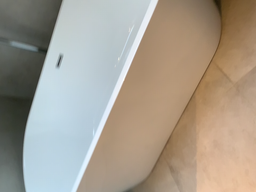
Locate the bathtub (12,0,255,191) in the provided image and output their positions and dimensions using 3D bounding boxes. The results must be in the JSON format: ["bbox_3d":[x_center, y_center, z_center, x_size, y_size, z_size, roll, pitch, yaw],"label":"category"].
[{"bbox_3d":[-0.120,-0.030,1.300,0.820,0.580,1.730,41,114,43],"label":"bathtub"}]
